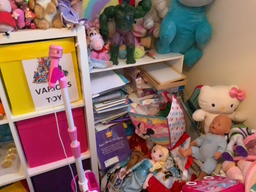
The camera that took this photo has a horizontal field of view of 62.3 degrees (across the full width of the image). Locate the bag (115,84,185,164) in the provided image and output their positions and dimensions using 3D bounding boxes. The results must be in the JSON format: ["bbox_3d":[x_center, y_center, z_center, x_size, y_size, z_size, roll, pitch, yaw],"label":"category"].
[{"bbox_3d":[0.140,0.160,1.340,0.350,0.350,0.270,11,29,19],"label":"bag"}]
